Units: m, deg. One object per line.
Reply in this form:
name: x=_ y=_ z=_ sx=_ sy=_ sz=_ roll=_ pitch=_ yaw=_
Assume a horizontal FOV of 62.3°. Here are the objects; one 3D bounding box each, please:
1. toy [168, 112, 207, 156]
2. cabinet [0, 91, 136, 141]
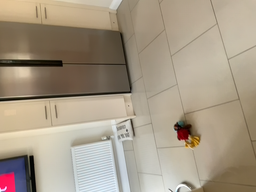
toy: x=0.540 y=0.360 z=1.980 sx=0.280 sy=0.080 sz=0.310 roll=66 pitch=147 yaw=33
cabinet: x=-0.980 y=0.260 z=2.700 sx=0.630 sy=2.080 sz=0.360 roll=-33 pitch=65 yaw=59
